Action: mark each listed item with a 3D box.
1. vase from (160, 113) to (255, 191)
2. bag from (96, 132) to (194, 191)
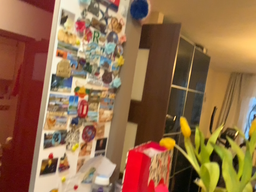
[{"bbox_3d":[0.380,0.330,0.730,0.430,0.460,0.320,11,3,34],"label":"vase"},{"bbox_3d":[0.080,0.370,0.960,0.280,0.330,0.320,11,3,36],"label":"bag"}]
